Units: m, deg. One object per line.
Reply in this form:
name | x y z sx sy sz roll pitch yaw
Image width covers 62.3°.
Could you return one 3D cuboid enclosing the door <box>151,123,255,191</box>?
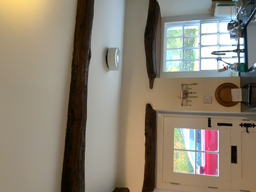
door | 1.240 0.790 2.570 0.050 1.890 0.830 46 -134 -73
